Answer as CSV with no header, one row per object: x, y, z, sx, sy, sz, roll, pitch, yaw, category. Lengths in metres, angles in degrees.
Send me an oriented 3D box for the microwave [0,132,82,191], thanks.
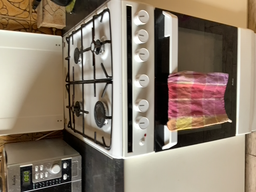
-0.410,0.450,0.940,0.380,0.290,0.480,4,94,58,microwave
